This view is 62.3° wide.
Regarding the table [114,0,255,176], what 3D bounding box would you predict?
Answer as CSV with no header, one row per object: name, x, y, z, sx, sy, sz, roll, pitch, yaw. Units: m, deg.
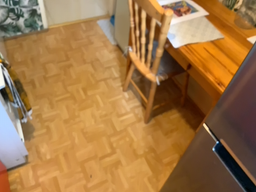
table,0.350,-0.130,1.420,0.510,0.790,0.910,-18,55,-21
